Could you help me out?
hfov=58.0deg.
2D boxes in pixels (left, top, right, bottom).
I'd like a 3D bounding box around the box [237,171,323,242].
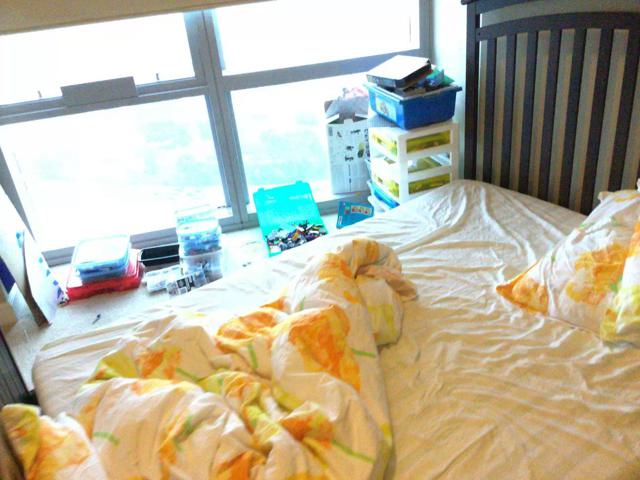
[{"bbox_3d":[-0.220,-0.190,3.120,0.380,0.200,0.340,-12,28,-12],"label":"box"}]
